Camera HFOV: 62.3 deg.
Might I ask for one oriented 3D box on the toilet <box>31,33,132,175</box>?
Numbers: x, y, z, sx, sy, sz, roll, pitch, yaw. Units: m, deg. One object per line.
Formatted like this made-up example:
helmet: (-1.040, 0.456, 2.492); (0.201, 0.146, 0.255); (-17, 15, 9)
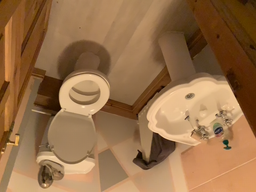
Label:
toilet: (-0.370, 0.080, 1.700); (0.470, 0.800, 0.690); (18, 134, -23)

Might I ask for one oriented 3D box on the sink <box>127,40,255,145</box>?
sink: (0.350, 0.030, 1.310); (0.470, 0.210, 0.590); (18, 134, -24)
